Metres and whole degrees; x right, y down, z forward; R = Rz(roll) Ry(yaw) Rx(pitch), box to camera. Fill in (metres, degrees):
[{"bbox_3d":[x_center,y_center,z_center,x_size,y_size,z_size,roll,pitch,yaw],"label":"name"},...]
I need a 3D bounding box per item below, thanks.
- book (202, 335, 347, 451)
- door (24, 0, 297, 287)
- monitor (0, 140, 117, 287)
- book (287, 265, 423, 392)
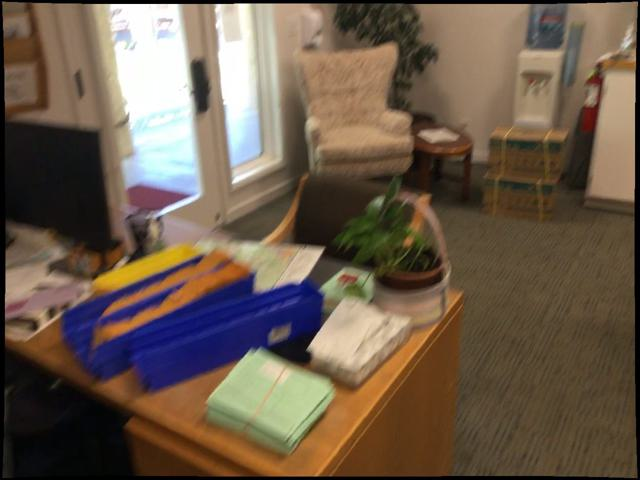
[{"bbox_3d":[-0.090,0.300,1.180,0.220,0.070,0.190,13,30,31],"label":"book"},{"bbox_3d":[-0.799,-0.981,3.480,0.250,1.982,1.680,13,30,31],"label":"door"},{"bbox_3d":[-0.829,-0.090,1.750,0.350,0.360,0.160,13,30,31],"label":"monitor"},{"bbox_3d":[0.090,0.190,1.340,0.190,0.120,0.290,13,30,31],"label":"book"}]
